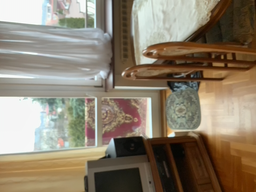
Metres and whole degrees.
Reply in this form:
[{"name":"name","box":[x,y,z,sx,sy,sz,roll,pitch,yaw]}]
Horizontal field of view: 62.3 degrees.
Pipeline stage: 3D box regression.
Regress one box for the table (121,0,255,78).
[{"name":"table","box":[0.560,-0.780,2.000,1.710,0.720,0.990,172,98,-69]}]

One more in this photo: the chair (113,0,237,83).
[{"name":"chair","box":[0.420,-0.440,1.940,0.470,1.010,0.580,180,91,-69]}]
